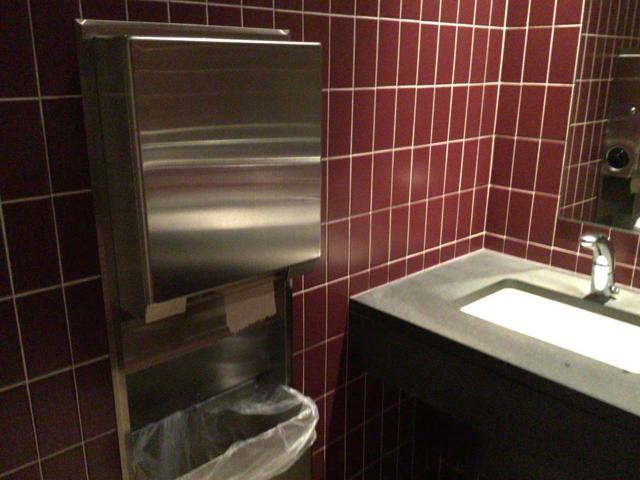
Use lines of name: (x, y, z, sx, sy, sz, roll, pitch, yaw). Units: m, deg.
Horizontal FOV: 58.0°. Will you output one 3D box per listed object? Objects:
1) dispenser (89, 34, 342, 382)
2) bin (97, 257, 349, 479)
dispenser: (-0.170, -0.080, 1.090, 0.420, 0.550, 0.160, -13, 21, -42)
bin: (-0.190, 0.520, 1.300, 0.460, 0.860, 0.230, -13, 21, -42)
